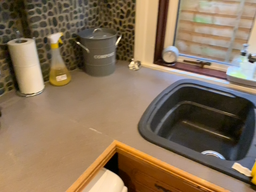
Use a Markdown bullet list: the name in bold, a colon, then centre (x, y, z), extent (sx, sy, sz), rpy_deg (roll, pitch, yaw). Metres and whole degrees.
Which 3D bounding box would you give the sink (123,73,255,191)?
- **sink**: centre (0.290, 0.150, 0.910), extent (0.410, 0.230, 0.510), rpy_deg (19, 36, 26)

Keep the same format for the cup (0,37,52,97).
- **cup**: centre (-0.440, -0.130, 0.930), extent (0.090, 0.220, 0.140), rpy_deg (10, 32, 19)
